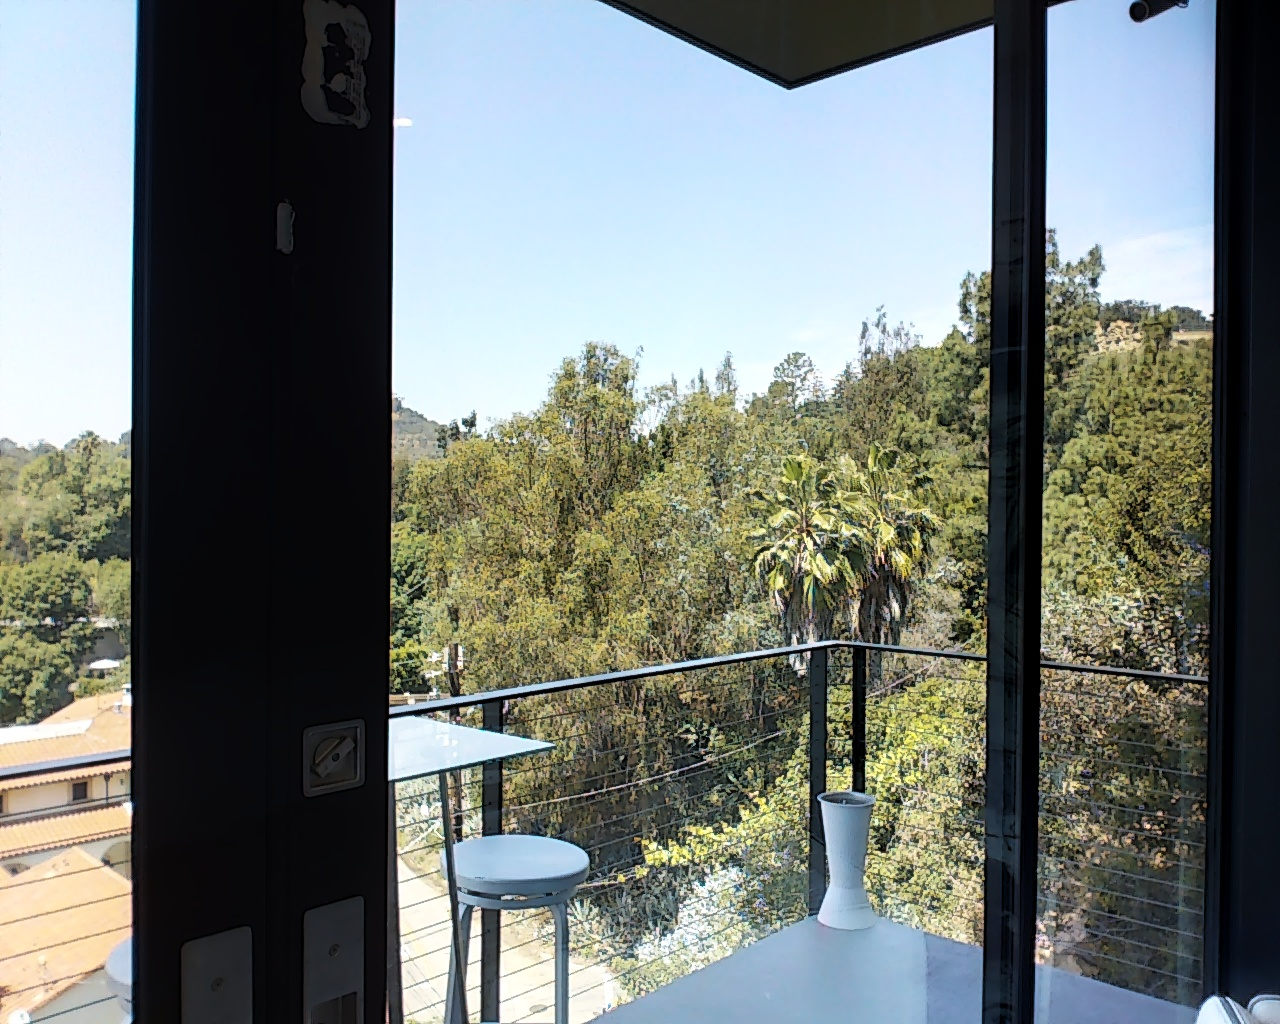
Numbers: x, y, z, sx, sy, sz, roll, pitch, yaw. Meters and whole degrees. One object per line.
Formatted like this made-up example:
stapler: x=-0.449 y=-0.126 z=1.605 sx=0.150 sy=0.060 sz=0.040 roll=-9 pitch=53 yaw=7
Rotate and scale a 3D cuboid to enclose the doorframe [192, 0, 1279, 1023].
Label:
doorframe: x=0.600 y=0.050 z=2.000 sx=0.530 sy=3.060 sz=2.650 roll=1 pitch=1 yaw=44
